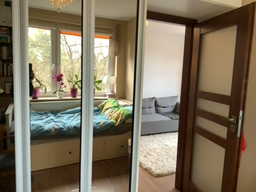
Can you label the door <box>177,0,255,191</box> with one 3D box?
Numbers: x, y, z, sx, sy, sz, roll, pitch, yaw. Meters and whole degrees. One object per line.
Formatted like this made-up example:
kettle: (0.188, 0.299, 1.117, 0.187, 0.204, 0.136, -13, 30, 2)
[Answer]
door: (0.840, 0.150, 2.130, 0.120, 2.080, 0.920, 1, 8, -14)
